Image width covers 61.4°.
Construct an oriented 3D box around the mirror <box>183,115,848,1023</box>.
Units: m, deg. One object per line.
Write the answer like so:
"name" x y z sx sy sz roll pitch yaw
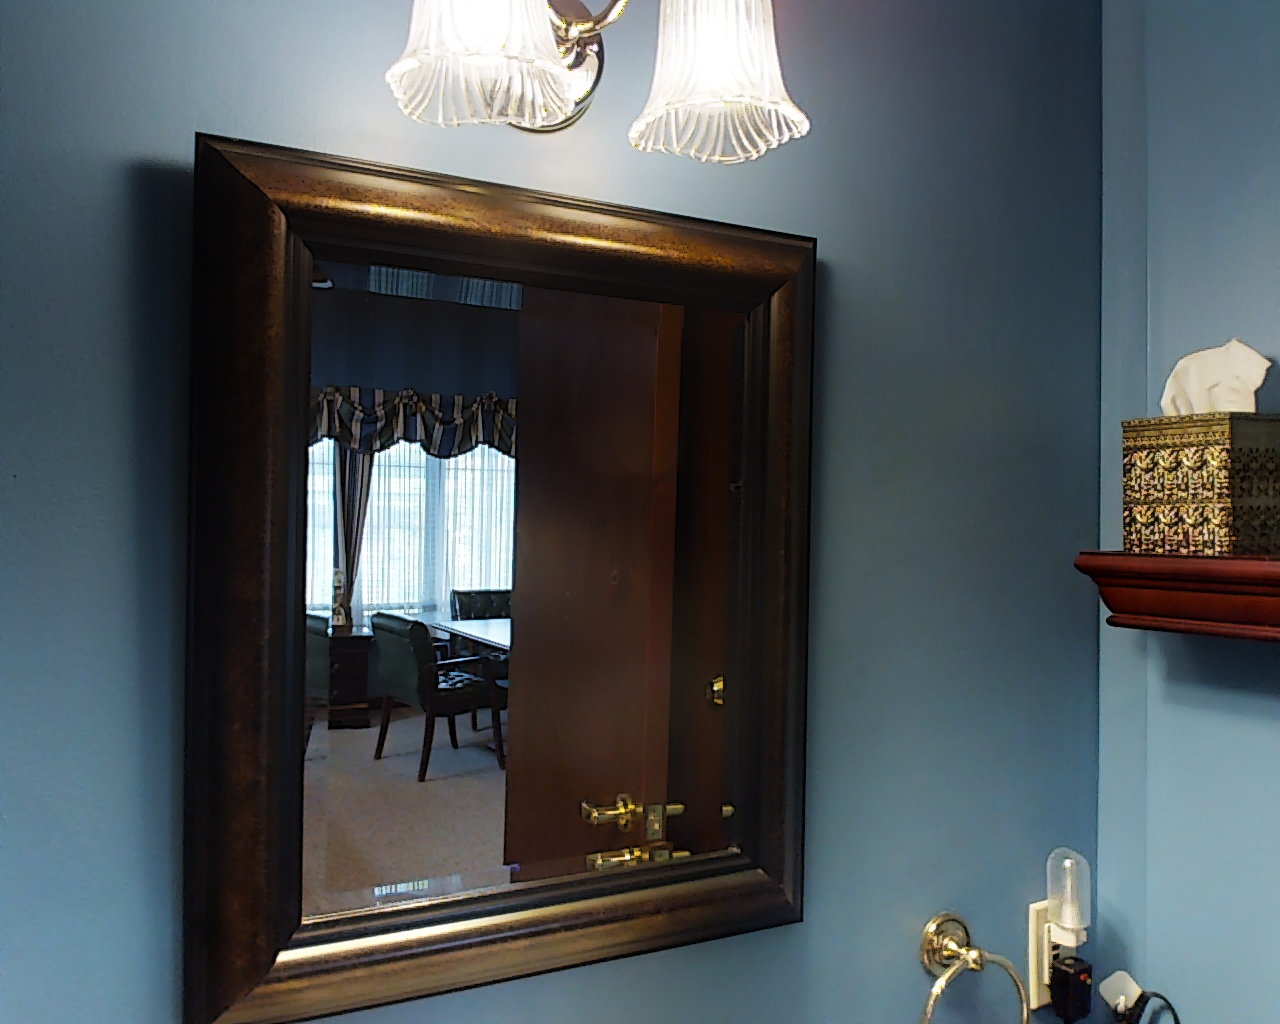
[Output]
"mirror" -0.070 0.060 0.900 0.560 0.660 0.060 1 -1 -28
